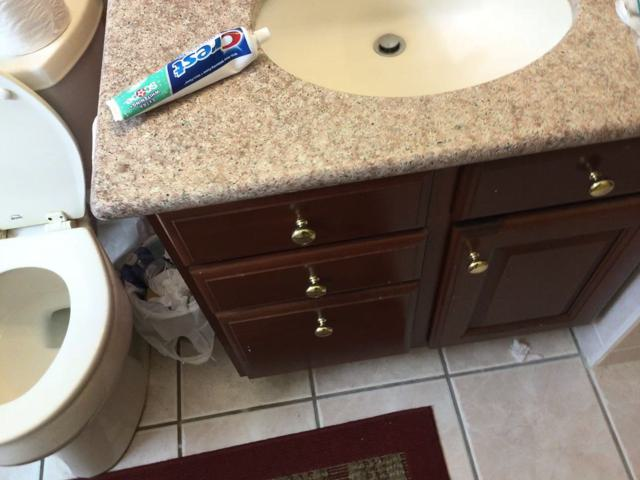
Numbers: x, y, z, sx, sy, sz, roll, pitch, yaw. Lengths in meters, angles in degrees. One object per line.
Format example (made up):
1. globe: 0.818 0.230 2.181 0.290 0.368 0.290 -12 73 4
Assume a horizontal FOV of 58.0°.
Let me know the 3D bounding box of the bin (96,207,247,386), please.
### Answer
1. bin: -0.320 0.130 1.290 0.250 0.250 0.280 -9 58 -2
